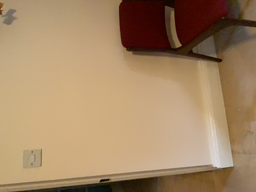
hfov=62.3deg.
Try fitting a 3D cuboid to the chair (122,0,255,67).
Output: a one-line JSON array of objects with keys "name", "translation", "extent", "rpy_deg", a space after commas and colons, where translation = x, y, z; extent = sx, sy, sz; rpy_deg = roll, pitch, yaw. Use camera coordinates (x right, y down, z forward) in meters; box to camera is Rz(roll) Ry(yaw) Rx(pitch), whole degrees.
[{"name": "chair", "translation": [0.420, -0.530, 1.260], "extent": [0.510, 0.770, 0.490], "rpy_deg": [144, 125, -64]}]
